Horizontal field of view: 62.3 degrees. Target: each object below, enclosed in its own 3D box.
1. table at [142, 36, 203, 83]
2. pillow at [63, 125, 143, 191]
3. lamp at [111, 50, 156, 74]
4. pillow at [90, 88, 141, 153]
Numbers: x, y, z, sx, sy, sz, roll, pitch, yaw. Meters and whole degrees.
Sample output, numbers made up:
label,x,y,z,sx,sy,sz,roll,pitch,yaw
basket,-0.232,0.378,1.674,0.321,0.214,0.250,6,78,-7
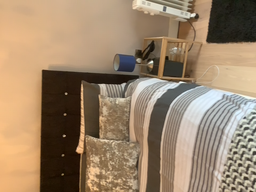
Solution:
label,x,y,z,sx,sy,sz,roll,pitch,yaw
table,0.430,-0.360,2.120,0.380,0.410,0.390,24,111,62
pillow,-0.170,0.590,1.740,0.190,0.480,0.500,-8,122,42
lamp,0.050,-0.320,2.010,0.230,0.340,0.180,20,107,62
pillow,-0.090,0.200,1.760,0.150,0.290,0.430,7,126,41
